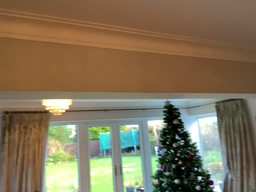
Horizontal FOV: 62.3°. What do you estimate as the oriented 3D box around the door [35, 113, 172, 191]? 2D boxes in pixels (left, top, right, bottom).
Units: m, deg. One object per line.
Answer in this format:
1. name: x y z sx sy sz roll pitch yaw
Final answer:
1. door: -0.340 1.580 4.550 3.020 2.350 0.200 1 -12 -31
